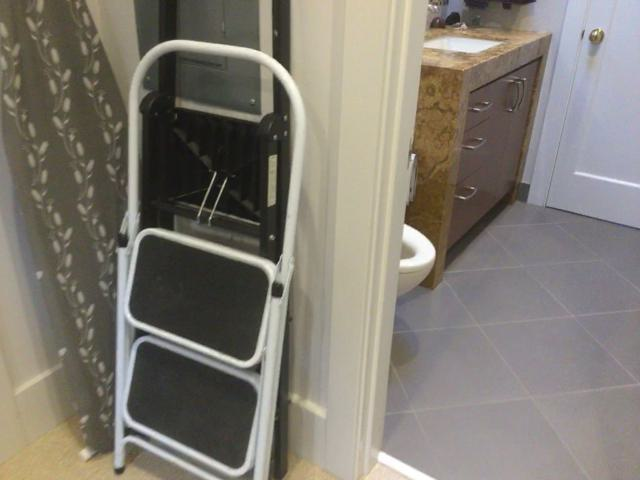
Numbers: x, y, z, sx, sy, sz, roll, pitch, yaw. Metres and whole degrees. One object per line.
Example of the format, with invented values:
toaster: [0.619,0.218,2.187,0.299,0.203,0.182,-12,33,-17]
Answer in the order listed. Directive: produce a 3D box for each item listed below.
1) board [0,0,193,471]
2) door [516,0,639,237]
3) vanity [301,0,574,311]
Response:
board: [-0.580,-0.100,1.410,0.240,1.360,0.390,18,31,28]
door: [1.510,-0.980,2.360,1.000,2.090,0.070,18,31,28]
vanity: [0.540,-0.510,2.580,0.660,1.060,1.200,18,31,28]
